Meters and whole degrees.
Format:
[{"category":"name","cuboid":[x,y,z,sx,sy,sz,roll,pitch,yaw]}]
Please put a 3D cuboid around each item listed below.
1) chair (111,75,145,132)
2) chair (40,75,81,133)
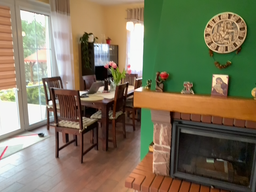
[{"category":"chair","cuboid":[0.000,0.120,4.170,0.490,1.000,0.480,6,12,22]},{"category":"chair","cuboid":[-1.290,0.120,4.110,0.530,1.000,0.490,5,12,22]}]
